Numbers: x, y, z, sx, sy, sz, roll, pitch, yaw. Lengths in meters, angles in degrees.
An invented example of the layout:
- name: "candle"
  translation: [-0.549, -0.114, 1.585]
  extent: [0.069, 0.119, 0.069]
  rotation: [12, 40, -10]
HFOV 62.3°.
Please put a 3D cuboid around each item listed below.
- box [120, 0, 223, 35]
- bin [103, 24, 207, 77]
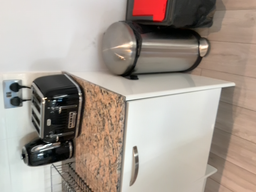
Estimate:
- name: "box"
  translation: [0.290, -0.680, 1.320]
  extent: [0.410, 0.480, 0.500]
  rotation: [27, 116, 46]
- name: "bin"
  translation: [0.200, -0.280, 1.340]
  extent: [0.190, 0.700, 0.260]
  rotation: [23, 114, 48]
